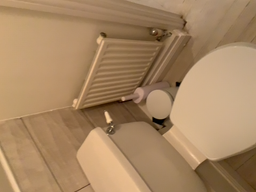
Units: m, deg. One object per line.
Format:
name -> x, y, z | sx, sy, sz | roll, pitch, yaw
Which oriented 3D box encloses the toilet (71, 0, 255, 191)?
toilet -> 0.310, 0.110, 0.880 | 0.480, 0.770, 0.680 | 46, 125, 25
